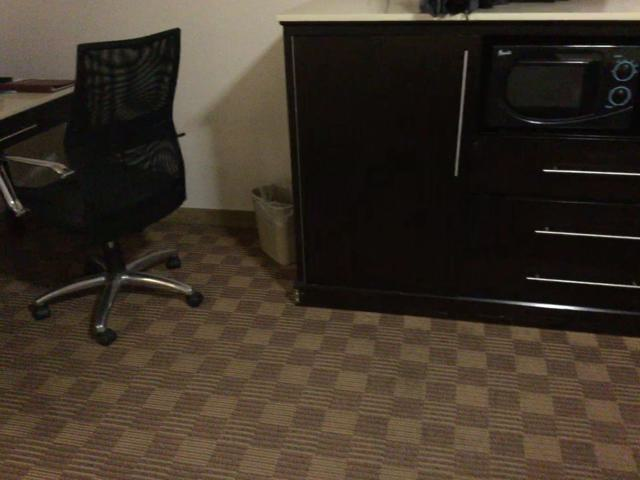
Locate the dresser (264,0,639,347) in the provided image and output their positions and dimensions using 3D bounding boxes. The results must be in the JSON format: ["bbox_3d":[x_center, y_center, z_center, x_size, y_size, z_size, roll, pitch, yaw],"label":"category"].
[{"bbox_3d":[0.670,-0.340,2.140,1.560,1.220,0.660,2,24,9],"label":"dresser"}]

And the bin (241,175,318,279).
[{"bbox_3d":[-0.190,-0.070,2.630,0.240,0.330,0.380,-9,25,-16],"label":"bin"}]

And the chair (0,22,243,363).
[{"bbox_3d":[-0.770,-0.230,2.110,0.670,1.030,0.590,12,27,29],"label":"chair"}]
